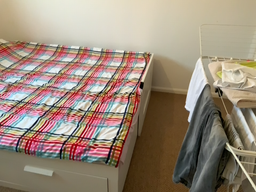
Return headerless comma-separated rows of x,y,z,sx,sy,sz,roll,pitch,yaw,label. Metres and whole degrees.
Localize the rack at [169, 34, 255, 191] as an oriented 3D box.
0.660,0.240,1.350,0.680,0.920,1.300,6,30,9,rack
